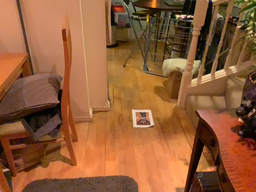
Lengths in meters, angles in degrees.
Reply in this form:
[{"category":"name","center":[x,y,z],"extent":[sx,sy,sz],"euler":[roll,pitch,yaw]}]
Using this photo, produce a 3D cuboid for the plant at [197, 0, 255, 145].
[{"category":"plant","center":[0.580,-0.150,0.920],"extent":[0.300,0.540,0.440],"euler":[-2,32,-6]}]
